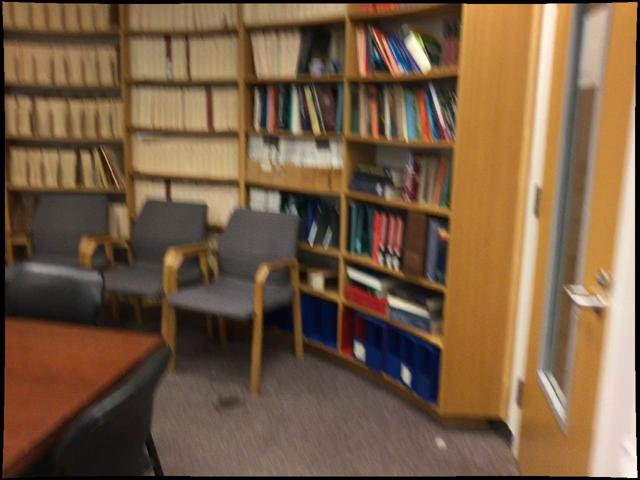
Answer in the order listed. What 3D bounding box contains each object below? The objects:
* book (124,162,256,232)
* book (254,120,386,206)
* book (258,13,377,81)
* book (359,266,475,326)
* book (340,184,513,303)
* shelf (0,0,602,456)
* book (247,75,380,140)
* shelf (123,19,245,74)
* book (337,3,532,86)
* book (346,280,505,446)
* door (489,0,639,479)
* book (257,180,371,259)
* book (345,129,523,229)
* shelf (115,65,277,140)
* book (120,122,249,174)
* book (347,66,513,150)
[{"bbox_3d":[-0.868,-0.301,3.850,0.798,0.311,0.340,9,17,20],"label":"book"},{"bbox_3d":[-0.020,-0.471,3.370,0.739,0.381,0.300,17,20,39],"label":"book"},{"bbox_3d":[-0.030,-1.103,3.310,0.300,0.321,0.649,-12,22,-44],"label":"book"},{"bbox_3d":[0.499,0.281,3.040,0.339,0.100,0.510,-7,19,-34],"label":"book"},{"bbox_3d":[0.519,-0.020,3.000,0.389,0.381,0.799,-8,20,-36],"label":"book"},{"bbox_3d":[-1.307,-0.571,3.350,4.868,2.396,1.530,5,16,6],"label":"shelf"},{"bbox_3d":[-0.050,-0.792,3.400,0.709,0.301,0.340,14,19,32],"label":"book"},{"bbox_3d":[-0.858,-1.223,3.660,0.728,0.281,0.180,5,16,6],"label":"shelf"},{"bbox_3d":[0.529,-0.942,2.820,0.459,0.311,0.799,-10,21,-39],"label":"book"},{"bbox_3d":[0.519,0.602,3.020,0.329,0.531,0.739,-8,20,-36],"label":"book"},{"bbox_3d":[0.938,0.040,2.180,0.090,2.005,1.030,7,12,5],"label":"door"},{"bbox_3d":[-0.050,-0.140,3.490,0.659,0.321,0.270,16,20,37],"label":"book"},{"bbox_3d":[0.549,-0.341,2.930,0.459,0.361,0.739,-8,19,-36],"label":"book"},{"bbox_3d":[-0.798,-0.902,3.730,0.918,0.381,0.440,9,17,19],"label":"shelf"},{"bbox_3d":[-0.878,-0.602,3.750,0.798,0.261,0.160,5,16,6],"label":"book"},{"bbox_3d":[0.519,-0.682,2.910,0.359,0.341,0.770,-7,19,-33],"label":"book"}]
